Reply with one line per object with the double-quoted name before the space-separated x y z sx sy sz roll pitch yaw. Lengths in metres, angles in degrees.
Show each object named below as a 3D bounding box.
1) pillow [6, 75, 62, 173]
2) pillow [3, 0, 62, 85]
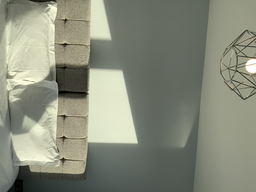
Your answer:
"pillow" -0.900 0.270 2.050 0.130 0.450 0.900 -154 -112 -68
"pillow" -0.880 -0.520 1.960 0.180 0.430 0.780 23 -73 63
